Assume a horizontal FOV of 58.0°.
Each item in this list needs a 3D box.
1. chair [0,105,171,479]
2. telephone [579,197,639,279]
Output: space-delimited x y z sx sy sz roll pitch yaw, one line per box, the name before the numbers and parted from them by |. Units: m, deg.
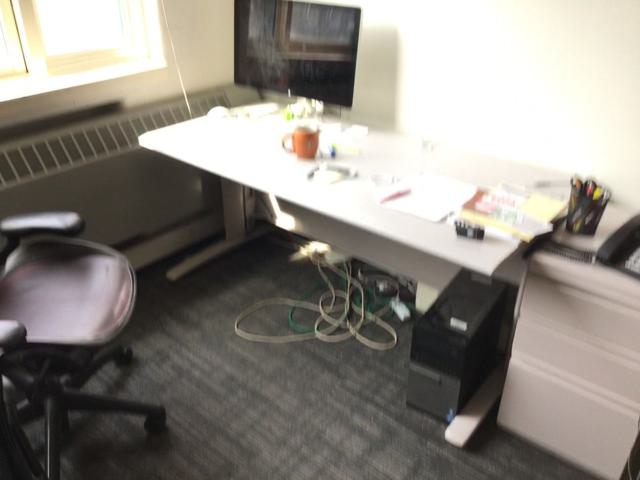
chair | -0.870 0.180 1.630 0.670 0.980 0.560 0 28 -1
telephone | 0.820 0.000 1.470 0.220 0.110 0.200 24 36 37
